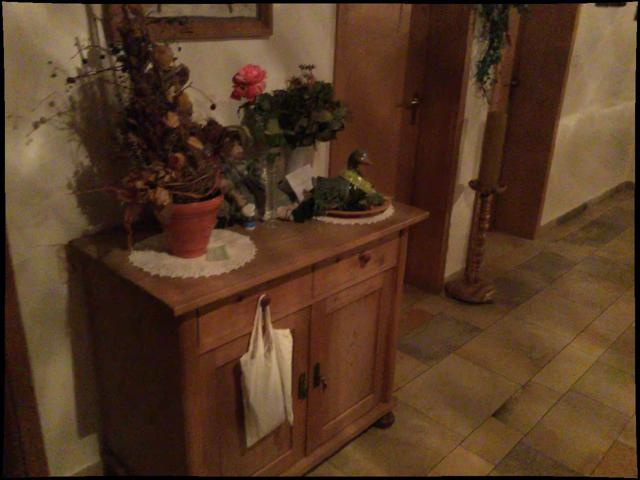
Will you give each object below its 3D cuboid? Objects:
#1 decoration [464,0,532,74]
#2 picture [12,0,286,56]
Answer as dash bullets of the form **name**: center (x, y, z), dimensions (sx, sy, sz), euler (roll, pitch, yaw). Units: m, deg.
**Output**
- **decoration**: center (0.859, -1.121, 2.730), dimensions (0.150, 0.621, 0.290), euler (22, 30, 40)
- **picture**: center (-0.410, -0.811, 1.540), dimensions (0.050, 0.570, 0.820), euler (22, 30, 40)
